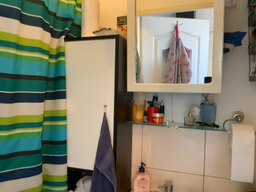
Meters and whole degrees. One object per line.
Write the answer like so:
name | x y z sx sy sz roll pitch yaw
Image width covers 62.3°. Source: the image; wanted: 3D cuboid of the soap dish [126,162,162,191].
soap dish | 0.090 0.490 1.190 0.180 0.190 0.100 2 0 18
